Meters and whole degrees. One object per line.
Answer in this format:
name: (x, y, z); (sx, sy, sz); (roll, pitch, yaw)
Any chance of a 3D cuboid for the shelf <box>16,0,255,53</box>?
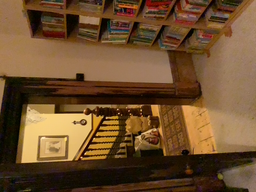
shelf: (0.100, -0.950, 1.930); (1.180, 2.030, 0.360); (121, 147, -62)
